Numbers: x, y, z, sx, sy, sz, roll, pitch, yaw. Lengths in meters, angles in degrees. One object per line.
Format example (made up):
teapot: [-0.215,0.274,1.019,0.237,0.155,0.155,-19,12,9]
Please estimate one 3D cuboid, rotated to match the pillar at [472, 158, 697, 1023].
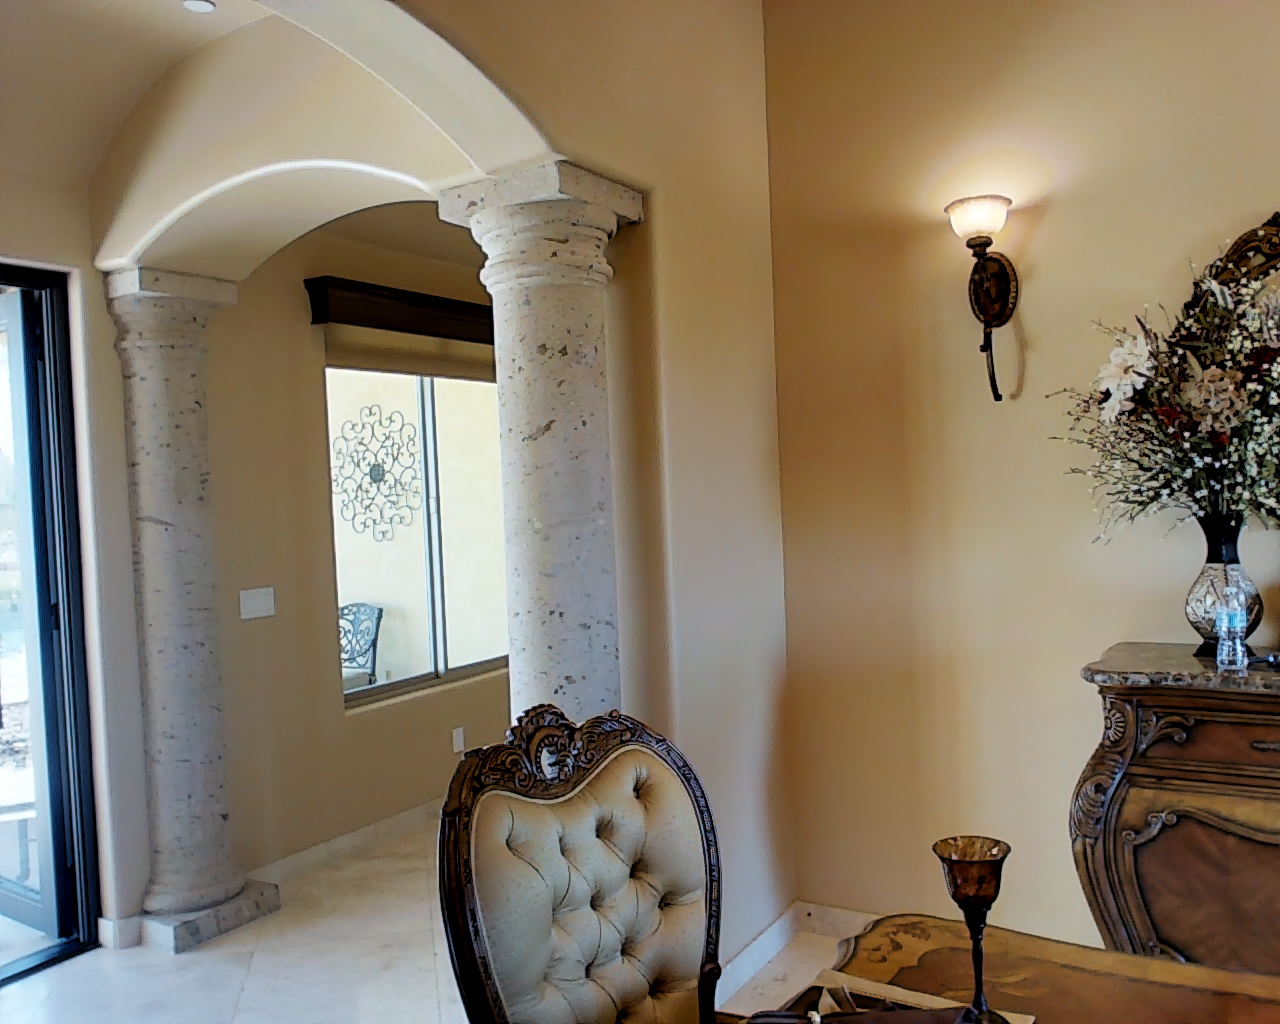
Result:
pillar: [-0.140,0.290,2.940,0.300,2.350,0.450,-2,1,32]
